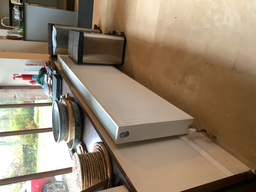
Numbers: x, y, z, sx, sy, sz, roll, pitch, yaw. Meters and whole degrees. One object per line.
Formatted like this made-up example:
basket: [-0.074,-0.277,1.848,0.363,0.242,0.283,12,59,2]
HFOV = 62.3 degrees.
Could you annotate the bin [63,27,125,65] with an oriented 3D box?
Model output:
bin: [-0.390,-0.550,2.330,0.510,0.510,0.320,28,115,58]
